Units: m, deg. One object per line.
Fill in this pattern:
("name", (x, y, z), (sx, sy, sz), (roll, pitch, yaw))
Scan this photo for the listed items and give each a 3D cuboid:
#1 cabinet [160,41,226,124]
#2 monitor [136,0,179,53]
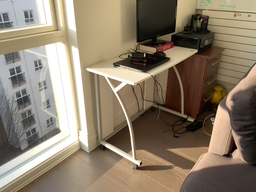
("cabinet", (0.700, -0.180, 2.340), (0.440, 0.700, 0.520), (21, 34, 35))
("monitor", (0.270, -0.650, 1.890), (0.050, 0.430, 0.530), (23, 35, 37))
